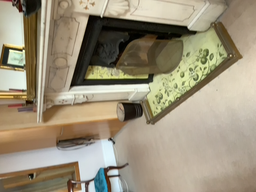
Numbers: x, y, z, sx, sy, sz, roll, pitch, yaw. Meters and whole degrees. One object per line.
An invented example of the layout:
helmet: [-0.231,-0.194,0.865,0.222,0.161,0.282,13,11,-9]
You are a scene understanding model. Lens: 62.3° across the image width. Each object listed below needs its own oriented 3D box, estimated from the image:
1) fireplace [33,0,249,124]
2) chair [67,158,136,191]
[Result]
fireplace: [-0.150,-0.350,1.900,1.730,1.250,0.480,-51,48,55]
chair: [-0.410,1.330,3.170,0.530,0.830,0.540,-49,50,56]
